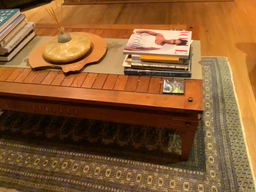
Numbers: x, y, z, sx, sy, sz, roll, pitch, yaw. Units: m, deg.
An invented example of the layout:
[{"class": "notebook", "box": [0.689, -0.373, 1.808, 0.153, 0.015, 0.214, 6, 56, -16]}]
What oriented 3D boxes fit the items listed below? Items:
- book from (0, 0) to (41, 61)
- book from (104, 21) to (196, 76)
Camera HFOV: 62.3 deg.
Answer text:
[{"class": "book", "box": [-0.760, -0.390, 1.220, 0.300, 0.170, 0.390, 4, 45, 11]}, {"class": "book", "box": [0.120, -0.250, 1.040, 0.390, 0.090, 0.330, 5, 45, 12]}]
